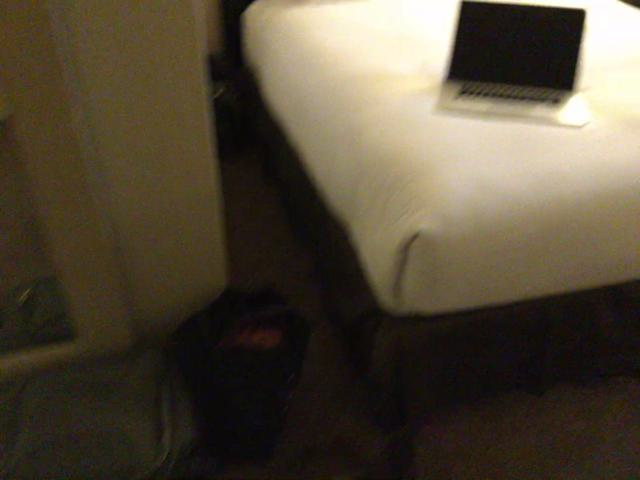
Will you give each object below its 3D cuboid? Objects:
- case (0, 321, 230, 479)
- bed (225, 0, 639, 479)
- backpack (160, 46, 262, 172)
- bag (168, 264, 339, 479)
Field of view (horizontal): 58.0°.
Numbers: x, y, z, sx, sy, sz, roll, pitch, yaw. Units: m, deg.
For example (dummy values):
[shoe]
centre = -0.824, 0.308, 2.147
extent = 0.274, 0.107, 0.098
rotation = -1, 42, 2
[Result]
[case]
centre = -0.580, 0.500, 1.300
extent = 0.690, 0.280, 0.380
rotation = -15, 35, -11
[bed]
centre = 0.640, -0.520, 2.120
extent = 1.540, 1.030, 2.150
rotation = -15, 35, -11
[backpack]
centre = -0.510, -0.620, 2.700
extent = 0.340, 0.410, 0.400
rotation = -15, 35, -11
[bag]
centre = -0.170, 0.320, 1.460
extent = 0.320, 0.320, 0.330
rotation = -15, 35, -11
